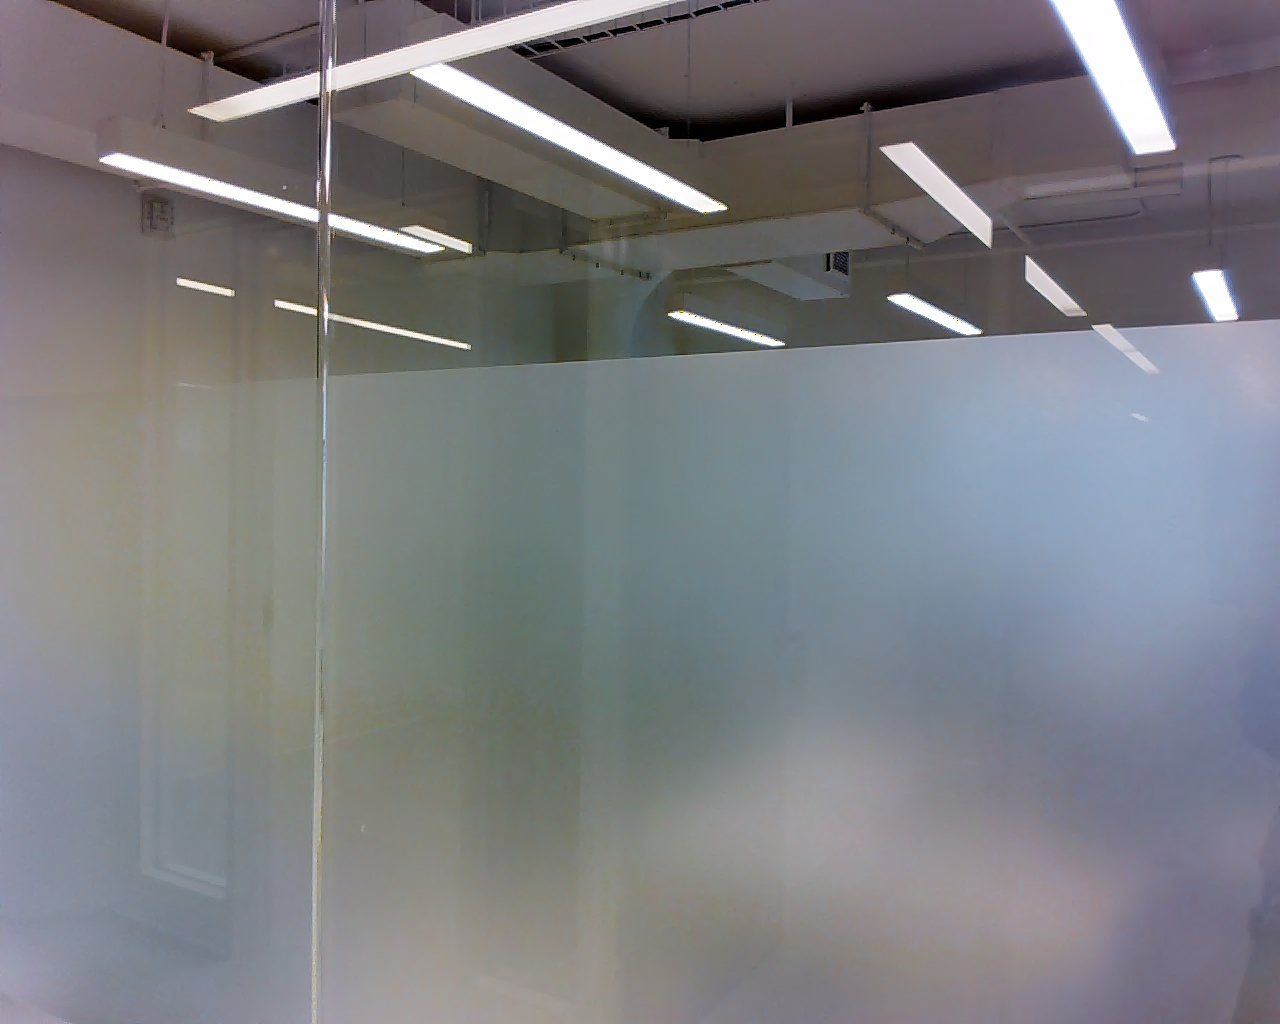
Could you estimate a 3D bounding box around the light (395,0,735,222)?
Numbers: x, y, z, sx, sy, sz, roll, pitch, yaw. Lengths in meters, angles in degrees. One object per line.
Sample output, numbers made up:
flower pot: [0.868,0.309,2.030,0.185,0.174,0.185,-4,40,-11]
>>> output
light: [-0.110,-1.000,2.670,0.160,0.260,1.240,1,1,31]
